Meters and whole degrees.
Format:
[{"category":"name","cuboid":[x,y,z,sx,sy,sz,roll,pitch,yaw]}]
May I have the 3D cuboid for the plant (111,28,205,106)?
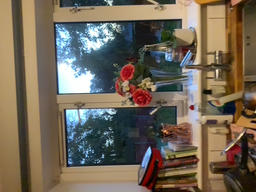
[{"category":"plant","cuboid":[0.170,-0.170,1.350,0.310,0.520,0.420,-104,12,-88]}]
